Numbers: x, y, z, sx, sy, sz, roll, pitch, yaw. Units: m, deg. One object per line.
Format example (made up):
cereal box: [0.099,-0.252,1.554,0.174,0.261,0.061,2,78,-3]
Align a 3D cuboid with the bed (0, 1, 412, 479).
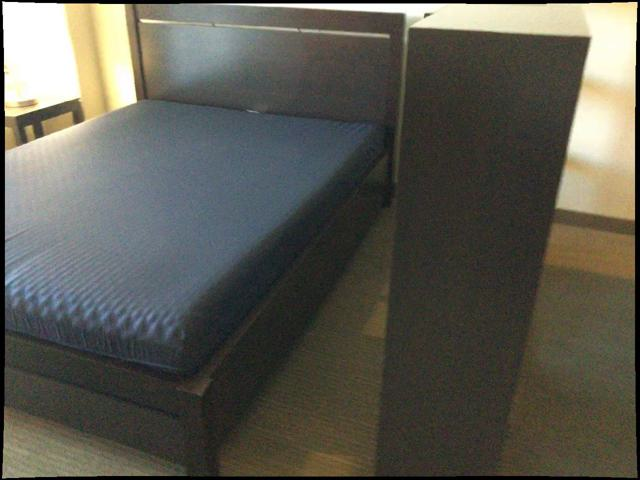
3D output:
bed: [-0.728,-0.351,2.490,1.776,1.062,2.220,8,28,17]
